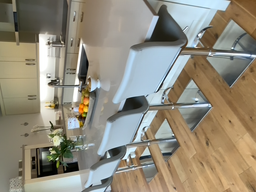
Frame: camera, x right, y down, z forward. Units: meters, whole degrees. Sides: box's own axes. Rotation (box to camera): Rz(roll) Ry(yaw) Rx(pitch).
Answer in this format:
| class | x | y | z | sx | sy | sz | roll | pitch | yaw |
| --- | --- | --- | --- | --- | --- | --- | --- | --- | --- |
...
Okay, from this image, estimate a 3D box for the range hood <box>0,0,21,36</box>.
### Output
| class | x | y | z | sx | sy | sz | roll | pitch | yaw |
| --- | --- | --- | --- | --- | --- | --- | --- | --- | --- |
| range hood | -2.230 | -1.440 | 3.560 | 0.740 | 0.740 | 0.300 | 113 | 146 | -42 |
